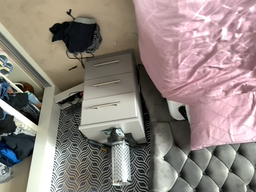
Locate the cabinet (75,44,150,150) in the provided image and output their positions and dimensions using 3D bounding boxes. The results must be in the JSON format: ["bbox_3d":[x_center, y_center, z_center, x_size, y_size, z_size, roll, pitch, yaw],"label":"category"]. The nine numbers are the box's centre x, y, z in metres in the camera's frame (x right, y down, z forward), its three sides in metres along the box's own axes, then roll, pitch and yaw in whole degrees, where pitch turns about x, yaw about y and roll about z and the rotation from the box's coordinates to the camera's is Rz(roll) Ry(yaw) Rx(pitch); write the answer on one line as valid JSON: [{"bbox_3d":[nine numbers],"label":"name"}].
[{"bbox_3d":[-0.100,0.020,1.620,0.400,0.630,0.430,-10,148,10],"label":"cabinet"}]
